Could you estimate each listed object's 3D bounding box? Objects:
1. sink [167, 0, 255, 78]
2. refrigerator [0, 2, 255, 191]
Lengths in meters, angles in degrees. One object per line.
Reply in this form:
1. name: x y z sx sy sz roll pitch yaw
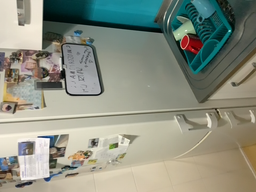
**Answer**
1. sink: 0.400 -0.340 1.030 0.350 0.160 0.360 119 142 -49
2. refrigerator: 0.130 0.020 1.340 0.620 1.790 0.720 119 142 -49
